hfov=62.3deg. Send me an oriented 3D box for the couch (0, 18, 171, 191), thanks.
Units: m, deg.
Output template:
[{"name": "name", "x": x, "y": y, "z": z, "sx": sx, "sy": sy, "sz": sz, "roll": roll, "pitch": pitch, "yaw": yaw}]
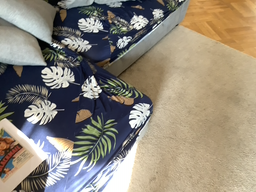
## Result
[{"name": "couch", "x": -0.380, "y": 0.260, "z": 0.970, "sx": 0.520, "sy": 0.680, "sz": 1.070, "roll": 34, "pitch": 56, "yaw": 20}]
